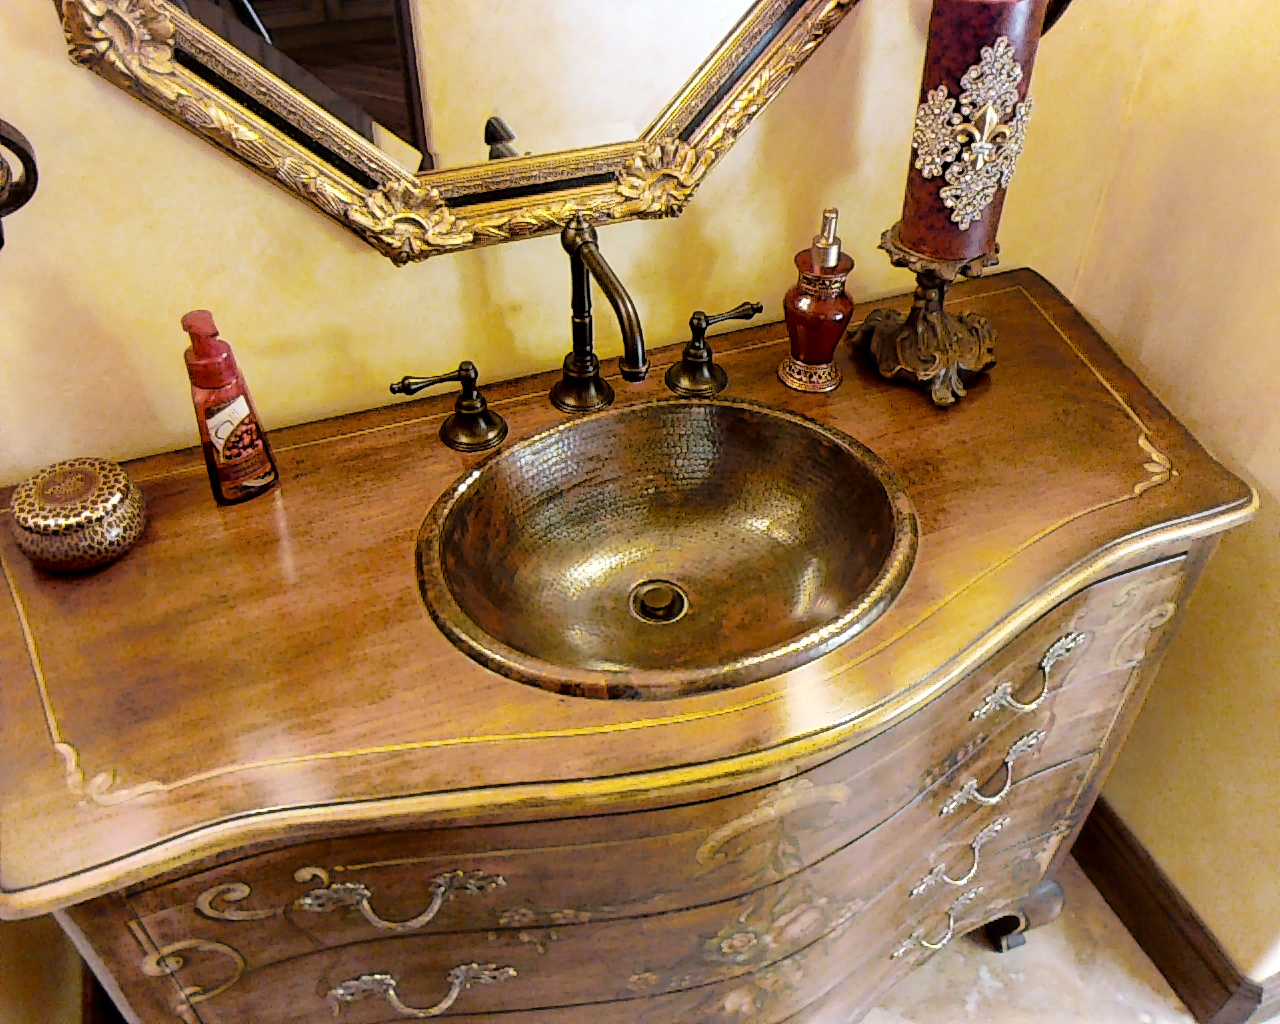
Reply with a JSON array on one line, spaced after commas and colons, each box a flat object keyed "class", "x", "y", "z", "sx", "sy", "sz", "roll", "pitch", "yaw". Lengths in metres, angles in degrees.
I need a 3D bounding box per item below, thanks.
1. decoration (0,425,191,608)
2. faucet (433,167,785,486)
[{"class": "decoration", "x": -0.500, "y": 0.000, "z": 0.970, "sx": 0.140, "sy": 0.060, "sz": 0.130, "roll": -20, "pitch": 45, "yaw": -22}, {"class": "faucet", "x": -0.030, "y": -0.190, "z": 1.090, "sx": 0.310, "sy": 0.240, "sz": 0.120, "roll": -14, "pitch": 43, "yaw": -16}]
